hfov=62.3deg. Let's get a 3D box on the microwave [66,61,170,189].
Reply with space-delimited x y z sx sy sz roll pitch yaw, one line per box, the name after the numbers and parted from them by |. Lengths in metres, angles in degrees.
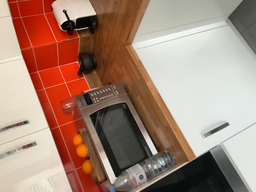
-0.100 0.170 1.190 0.560 0.300 0.370 63 155 17 | microwave
